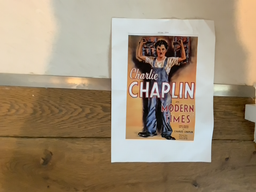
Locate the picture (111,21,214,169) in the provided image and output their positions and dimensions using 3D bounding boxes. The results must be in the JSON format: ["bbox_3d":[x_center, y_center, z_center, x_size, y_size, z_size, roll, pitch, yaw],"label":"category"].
[{"bbox_3d":[0.070,0.000,0.430,0.200,0.020,0.290,-1,95,-3],"label":"picture"}]
